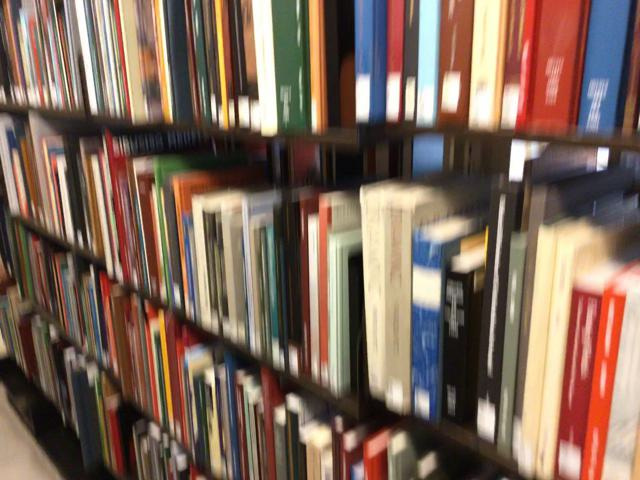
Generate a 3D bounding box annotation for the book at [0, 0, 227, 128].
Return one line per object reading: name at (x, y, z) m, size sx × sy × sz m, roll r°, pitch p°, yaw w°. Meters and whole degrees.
book at (-0.870, -0.560, 1.770) m, size 0.210 × 0.380 × 1.690 m, roll -18°, pitch 21°, yaw -40°

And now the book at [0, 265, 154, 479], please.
book at (-1.030, 0.430, 2.150) m, size 0.180 × 0.410 × 1.260 m, roll -18°, pitch 21°, yaw -40°

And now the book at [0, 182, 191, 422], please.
book at (-1.000, 0.100, 2.090) m, size 0.180 × 0.480 × 1.630 m, roll -18°, pitch 21°, yaw -40°

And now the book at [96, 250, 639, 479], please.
book at (0.030, 0.390, 1.090) m, size 0.260 × 0.460 × 1.420 m, roll -18°, pitch 21°, yaw -40°
